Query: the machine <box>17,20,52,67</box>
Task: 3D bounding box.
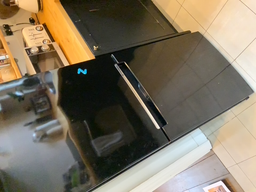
[{"bbox_3d":[-0.760,-0.430,1.740,0.250,0.170,0.250,57,148,20],"label":"machine"}]
